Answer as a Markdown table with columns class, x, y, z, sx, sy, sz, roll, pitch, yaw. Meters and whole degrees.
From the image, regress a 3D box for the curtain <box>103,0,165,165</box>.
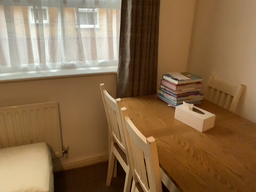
| class | x | y | z | sx | sy | sz | roll | pitch | yaw |
| --- | --- | --- | --- | --- | --- | --- | --- | --- | --- |
| curtain | 0.040 | -0.380 | 1.820 | 0.480 | 2.130 | 0.140 | -7 | 22 | -21 |

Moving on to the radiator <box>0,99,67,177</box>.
| class | x | y | z | sx | sy | sz | roll | pitch | yaw |
| --- | --- | --- | --- | --- | --- | --- | --- | --- | --- |
| radiator | -1.020 | 0.360 | 1.610 | 1.030 | 0.570 | 0.080 | -7 | 22 | -21 |
